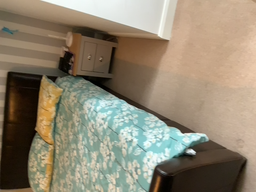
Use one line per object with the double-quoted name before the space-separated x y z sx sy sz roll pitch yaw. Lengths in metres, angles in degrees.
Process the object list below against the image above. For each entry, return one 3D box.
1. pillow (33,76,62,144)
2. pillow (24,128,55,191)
"pillow" -0.910 0.140 2.350 0.440 0.140 0.620 29 110 54
"pillow" -1.040 0.810 2.440 0.500 0.170 0.720 29 110 54
